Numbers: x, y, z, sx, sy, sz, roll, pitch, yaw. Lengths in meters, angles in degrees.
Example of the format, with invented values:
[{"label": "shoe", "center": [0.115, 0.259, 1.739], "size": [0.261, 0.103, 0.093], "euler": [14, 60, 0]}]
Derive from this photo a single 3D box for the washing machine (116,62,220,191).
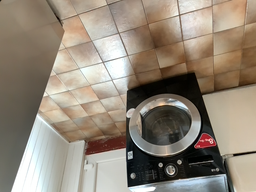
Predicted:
[{"label": "washing machine", "center": [0.330, 0.370, 1.770], "size": [0.590, 0.850, 0.810], "euler": [-14, 138, 14]}]
